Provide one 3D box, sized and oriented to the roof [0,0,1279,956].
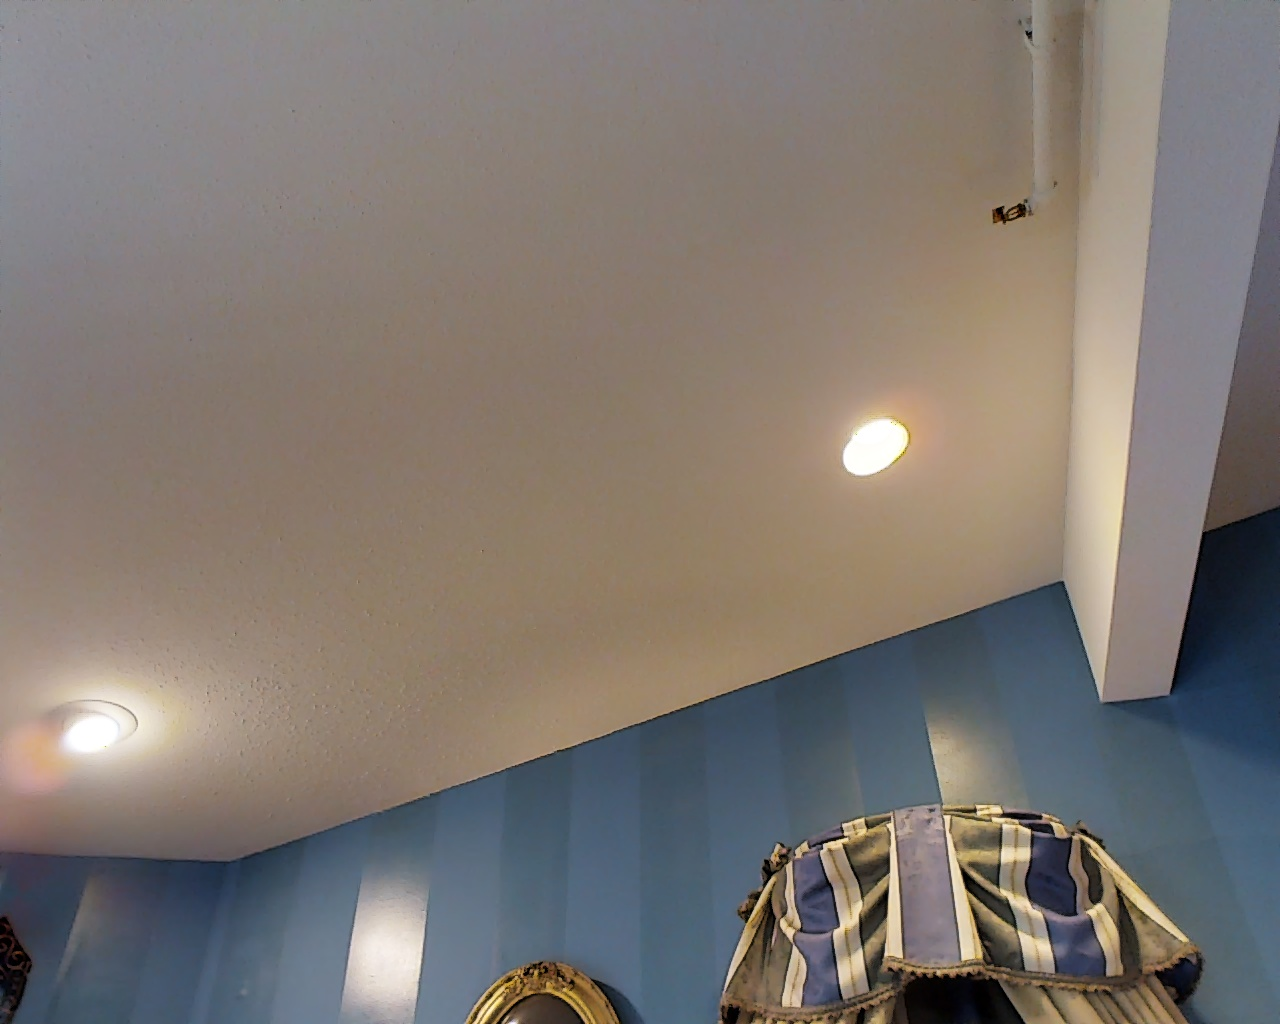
[{"bbox_3d":[0.570,-1.471,1.110,6.787,1.380,5.341,-11,-42,11],"label":"roof"}]
